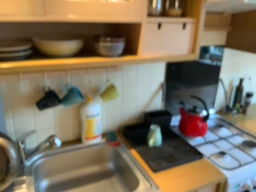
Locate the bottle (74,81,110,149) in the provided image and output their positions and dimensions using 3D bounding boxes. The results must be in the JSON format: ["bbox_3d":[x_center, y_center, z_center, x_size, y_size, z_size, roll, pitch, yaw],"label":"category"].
[{"bbox_3d":[-0.210,0.110,1.250,0.180,0.360,0.120,-6,22,-20],"label":"bottle"}]
